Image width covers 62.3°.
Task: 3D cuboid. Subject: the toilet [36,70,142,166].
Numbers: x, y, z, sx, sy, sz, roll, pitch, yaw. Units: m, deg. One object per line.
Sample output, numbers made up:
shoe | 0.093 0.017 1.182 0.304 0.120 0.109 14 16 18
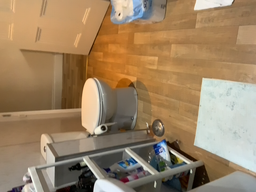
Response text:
toilet | -0.340 0.140 1.870 0.380 0.800 0.660 21 109 54
